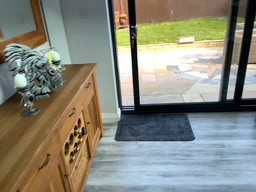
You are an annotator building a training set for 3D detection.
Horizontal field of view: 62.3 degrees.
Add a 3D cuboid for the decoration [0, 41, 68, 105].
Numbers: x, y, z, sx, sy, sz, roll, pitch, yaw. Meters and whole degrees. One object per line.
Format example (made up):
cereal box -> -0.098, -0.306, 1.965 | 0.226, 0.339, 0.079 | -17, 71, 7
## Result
decoration -> -0.670, -0.180, 1.540 | 0.270, 0.360, 0.360 | 0, 25, 9
